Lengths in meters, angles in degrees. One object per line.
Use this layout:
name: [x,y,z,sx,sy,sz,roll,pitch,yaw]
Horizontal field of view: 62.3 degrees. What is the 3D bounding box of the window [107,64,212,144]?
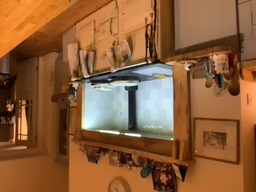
window: [0.280,0.120,2.840,0.170,0.830,1.630,2,175,-43]
